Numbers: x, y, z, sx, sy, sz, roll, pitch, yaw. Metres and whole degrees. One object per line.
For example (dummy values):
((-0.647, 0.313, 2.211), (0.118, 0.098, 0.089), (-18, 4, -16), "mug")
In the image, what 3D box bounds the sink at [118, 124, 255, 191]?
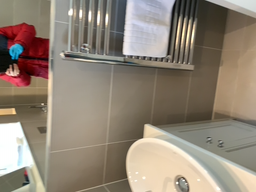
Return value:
((0.170, 0.380, 0.870), (0.610, 0.100, 0.370), (16, 104, 56), "sink")

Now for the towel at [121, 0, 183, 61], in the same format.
((0.130, -0.370, 1.080), (0.080, 0.300, 0.350), (18, 106, 55), "towel")
